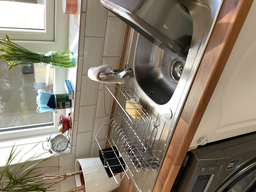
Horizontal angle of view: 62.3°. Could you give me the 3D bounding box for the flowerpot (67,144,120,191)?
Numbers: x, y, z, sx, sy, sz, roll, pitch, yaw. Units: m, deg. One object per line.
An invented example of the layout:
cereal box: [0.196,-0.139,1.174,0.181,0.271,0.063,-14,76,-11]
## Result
flowerpot: [-0.230,0.490,1.330,0.260,0.240,0.210,53,139,46]

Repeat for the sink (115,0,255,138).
sink: [0.170,-0.190,0.920,0.520,0.190,0.490,51,138,47]

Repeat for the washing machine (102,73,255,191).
washing machine: [0.430,0.310,1.310,0.700,0.920,0.620,51,138,47]
